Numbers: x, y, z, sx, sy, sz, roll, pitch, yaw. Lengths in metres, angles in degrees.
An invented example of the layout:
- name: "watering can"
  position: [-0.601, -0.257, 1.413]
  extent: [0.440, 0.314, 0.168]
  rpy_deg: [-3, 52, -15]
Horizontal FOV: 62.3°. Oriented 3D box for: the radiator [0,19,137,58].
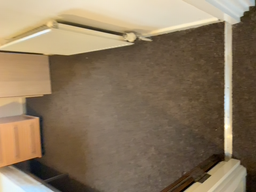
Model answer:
- name: "radiator"
  position: [-0.450, -0.360, 1.510]
  extent: [0.800, 0.640, 0.080]
  rpy_deg: [2, 96, 42]
